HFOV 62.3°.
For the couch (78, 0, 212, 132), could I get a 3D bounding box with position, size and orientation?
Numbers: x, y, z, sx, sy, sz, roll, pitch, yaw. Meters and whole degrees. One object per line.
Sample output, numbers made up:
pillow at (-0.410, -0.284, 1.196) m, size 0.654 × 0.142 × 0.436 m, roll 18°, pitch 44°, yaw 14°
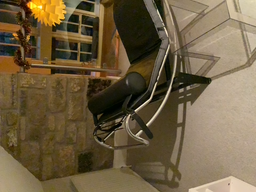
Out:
couch at (0.050, -0.510, 1.730) m, size 0.600 × 0.670 × 1.470 m, roll -29°, pitch 65°, yaw 55°
